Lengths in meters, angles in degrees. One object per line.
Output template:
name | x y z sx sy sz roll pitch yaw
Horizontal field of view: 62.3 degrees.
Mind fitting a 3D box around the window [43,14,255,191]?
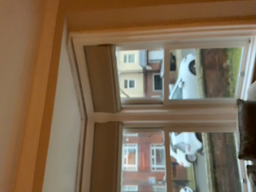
window | 0.350 0.530 2.210 0.880 2.030 2.500 71 -161 -70
